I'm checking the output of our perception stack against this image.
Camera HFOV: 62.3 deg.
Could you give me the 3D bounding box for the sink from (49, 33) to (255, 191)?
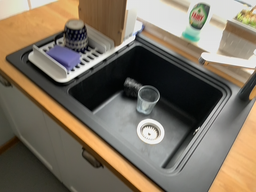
[{"bbox_3d":[0.100,0.070,0.810,0.520,0.240,0.520,36,52,20],"label":"sink"}]
